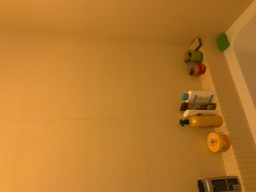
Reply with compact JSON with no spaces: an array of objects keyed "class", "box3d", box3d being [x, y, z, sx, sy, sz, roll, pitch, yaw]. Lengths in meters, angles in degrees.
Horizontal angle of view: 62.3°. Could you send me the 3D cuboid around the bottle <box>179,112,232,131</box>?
[{"class":"bottle","box3d":[0.450,0.150,1.240,0.090,0.270,0.080,118,150,-59]}]
